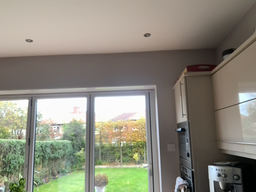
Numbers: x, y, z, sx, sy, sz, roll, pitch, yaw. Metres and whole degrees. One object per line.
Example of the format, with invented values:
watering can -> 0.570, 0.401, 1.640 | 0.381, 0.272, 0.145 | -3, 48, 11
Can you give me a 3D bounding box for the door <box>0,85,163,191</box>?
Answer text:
door -> -1.750, 1.070, 3.030 | 4.450, 2.380, 0.130 | -1, -10, 0
